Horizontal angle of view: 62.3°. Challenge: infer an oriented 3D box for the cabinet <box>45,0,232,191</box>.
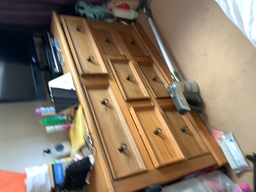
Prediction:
[{"bbox_3d":[-0.090,-0.050,1.690,1.580,0.810,0.510,64,143,32],"label":"cabinet"}]
